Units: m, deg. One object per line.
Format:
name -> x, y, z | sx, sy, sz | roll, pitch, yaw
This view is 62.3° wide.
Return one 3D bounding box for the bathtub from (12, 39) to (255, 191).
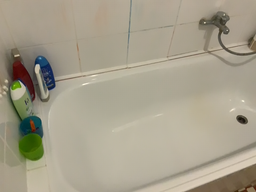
bathtub -> 0.290, 0.200, 1.220 | 1.580, 0.530, 0.700 | -13, 51, -16
